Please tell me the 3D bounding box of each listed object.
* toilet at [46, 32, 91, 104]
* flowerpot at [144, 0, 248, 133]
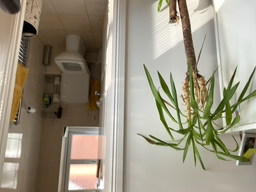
[{"bbox_3d":[-0.770,-0.350,2.890,0.410,0.810,0.580,1,167,-1],"label":"toilet"},{"bbox_3d":[0.340,-0.450,1.290,0.430,1.300,0.350,2,167,-4],"label":"flowerpot"}]
